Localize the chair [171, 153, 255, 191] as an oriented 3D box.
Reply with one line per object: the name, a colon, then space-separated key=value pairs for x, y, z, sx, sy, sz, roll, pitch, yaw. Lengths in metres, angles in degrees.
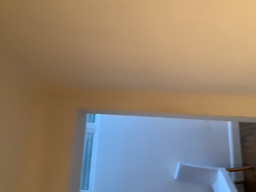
chair: x=1.100 y=1.120 z=2.710 sx=0.520 sy=0.950 sz=0.490 roll=-87 pitch=0 yaw=-53
